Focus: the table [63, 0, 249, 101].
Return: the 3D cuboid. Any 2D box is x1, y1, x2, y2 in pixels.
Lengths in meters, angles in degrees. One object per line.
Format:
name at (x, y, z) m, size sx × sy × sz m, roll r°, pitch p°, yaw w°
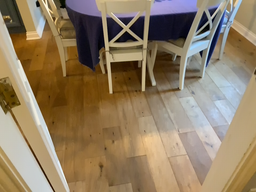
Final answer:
table at (0.150, -0.730, 2.310) m, size 1.520 × 0.750 × 1.120 m, roll -10°, pitch 43°, yaw -10°
